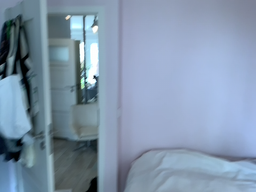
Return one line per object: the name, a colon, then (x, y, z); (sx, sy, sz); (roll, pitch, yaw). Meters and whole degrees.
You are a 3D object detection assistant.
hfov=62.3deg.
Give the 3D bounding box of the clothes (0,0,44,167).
clothes: (-0.920, -0.130, 1.630); (0.350, 1.100, 0.650); (-5, 12, -33)
